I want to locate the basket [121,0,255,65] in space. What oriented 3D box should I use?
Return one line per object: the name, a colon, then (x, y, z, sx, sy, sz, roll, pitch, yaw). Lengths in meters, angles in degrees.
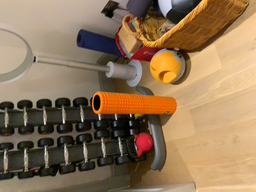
basket: (0.340, -0.600, 1.330, 0.610, 0.460, 0.510, -34, 60, 47)
